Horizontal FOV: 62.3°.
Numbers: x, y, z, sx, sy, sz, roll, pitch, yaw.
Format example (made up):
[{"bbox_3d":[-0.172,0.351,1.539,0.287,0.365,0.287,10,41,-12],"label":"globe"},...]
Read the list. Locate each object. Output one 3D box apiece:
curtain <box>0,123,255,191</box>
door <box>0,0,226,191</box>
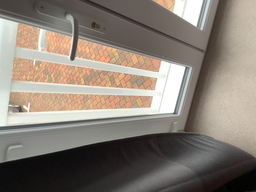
[{"bbox_3d":[-0.170,0.350,0.320,0.250,2.330,0.360,16,100,40],"label":"curtain"},{"bbox_3d":[-0.280,-0.280,0.690,0.310,2.180,1.120,18,101,40],"label":"door"}]
